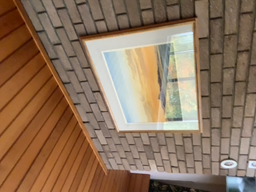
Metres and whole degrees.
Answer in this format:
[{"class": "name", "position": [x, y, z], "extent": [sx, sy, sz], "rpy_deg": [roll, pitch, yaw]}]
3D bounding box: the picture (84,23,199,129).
[{"class": "picture", "position": [0.140, -0.060, 1.560], "extent": [0.040, 0.690, 0.850], "rpy_deg": [-73, -27, -48]}]
